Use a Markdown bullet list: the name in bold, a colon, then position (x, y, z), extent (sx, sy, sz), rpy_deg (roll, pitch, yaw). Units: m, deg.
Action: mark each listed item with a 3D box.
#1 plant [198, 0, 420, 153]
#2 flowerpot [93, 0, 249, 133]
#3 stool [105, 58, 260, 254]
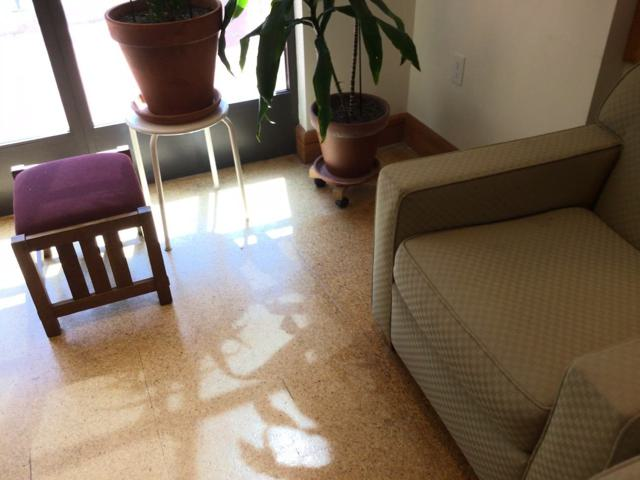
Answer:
- **plant**: position (-0.080, -0.800, 1.950), extent (0.490, 0.690, 0.750), rpy_deg (-15, 36, -19)
- **flowerpot**: position (-0.500, -0.610, 1.950), extent (0.400, 0.320, 0.340), rpy_deg (-15, 36, -19)
- **stool**: position (-0.520, -0.340, 2.200), extent (0.400, 0.520, 0.500), rpy_deg (-15, 36, -19)
